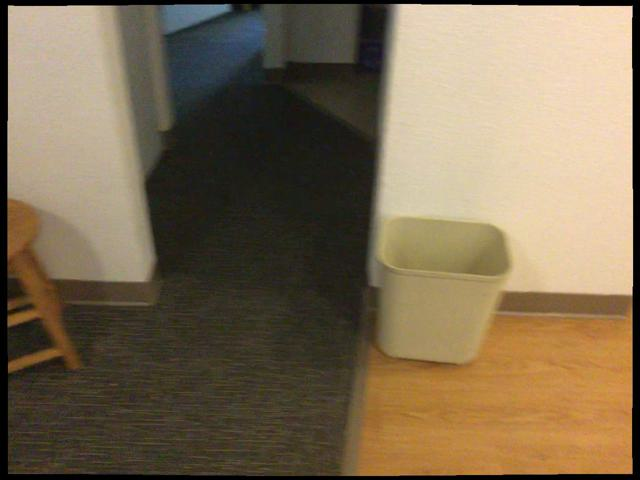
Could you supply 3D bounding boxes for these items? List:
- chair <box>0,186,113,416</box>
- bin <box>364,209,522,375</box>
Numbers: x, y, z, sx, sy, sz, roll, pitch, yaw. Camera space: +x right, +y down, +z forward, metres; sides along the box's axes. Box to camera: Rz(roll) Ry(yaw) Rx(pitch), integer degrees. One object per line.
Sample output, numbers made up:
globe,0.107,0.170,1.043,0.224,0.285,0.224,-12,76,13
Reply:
chair,-0.988,0.170,1.740,0.469,0.481,0.480,2,37,2
bin,0.349,0.160,1.790,0.399,0.411,0.290,2,37,2
